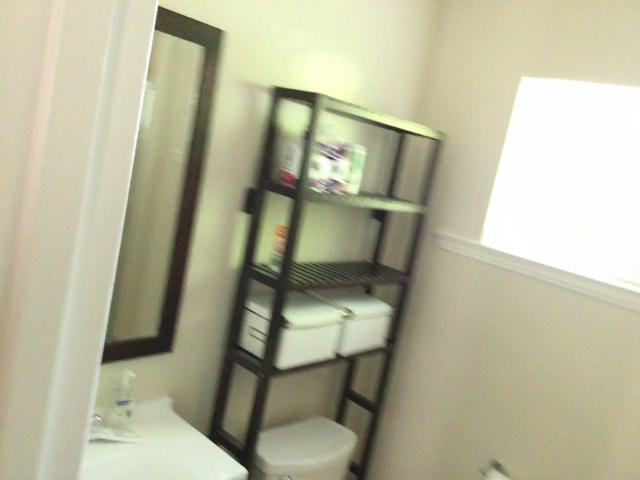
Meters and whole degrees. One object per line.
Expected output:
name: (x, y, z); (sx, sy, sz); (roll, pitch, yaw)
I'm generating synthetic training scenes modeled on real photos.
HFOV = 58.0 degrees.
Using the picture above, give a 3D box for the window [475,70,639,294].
window: (1.010, -0.150, 1.740); (0.930, 0.610, 0.220); (19, 9, 40)

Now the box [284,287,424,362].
box: (0.130, 0.280, 2.020); (0.220, 0.170, 0.460); (19, 9, 40)

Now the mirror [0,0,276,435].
mirror: (-0.530, -0.110, 1.220); (0.170, 1.000, 0.780); (19, 9, 40)

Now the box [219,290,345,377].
box: (-0.110, 0.270, 1.740); (0.200, 0.180, 0.290); (19, 9, 40)
